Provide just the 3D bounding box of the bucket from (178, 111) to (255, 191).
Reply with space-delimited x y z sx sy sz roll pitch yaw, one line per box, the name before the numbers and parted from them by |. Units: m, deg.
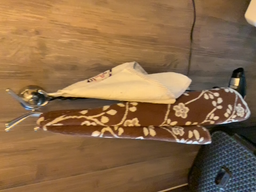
bucket | 0.700 0.380 1.170 0.330 0.630 0.490 50 131 47
